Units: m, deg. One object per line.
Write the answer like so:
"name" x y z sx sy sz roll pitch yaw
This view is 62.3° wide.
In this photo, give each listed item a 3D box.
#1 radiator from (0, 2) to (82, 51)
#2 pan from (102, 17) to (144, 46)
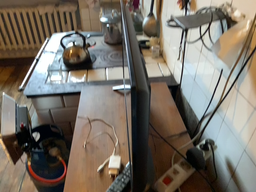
"radiator" -1.340 -0.960 2.950 1.300 0.580 0.180 -3 36 -5
"pan" -0.050 -0.560 1.820 0.330 0.160 0.260 -2 36 -3
